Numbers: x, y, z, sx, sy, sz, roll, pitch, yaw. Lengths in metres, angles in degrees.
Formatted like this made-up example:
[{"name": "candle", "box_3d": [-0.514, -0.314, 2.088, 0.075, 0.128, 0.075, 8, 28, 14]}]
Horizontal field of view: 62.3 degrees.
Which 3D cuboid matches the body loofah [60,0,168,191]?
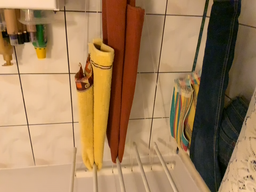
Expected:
[{"name": "body loofah", "box_3d": [-0.070, -0.020, 0.790, 0.250, 0.690, 0.350, 1, -153, -8]}]
